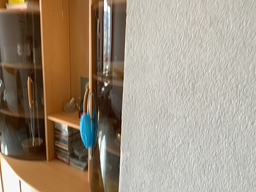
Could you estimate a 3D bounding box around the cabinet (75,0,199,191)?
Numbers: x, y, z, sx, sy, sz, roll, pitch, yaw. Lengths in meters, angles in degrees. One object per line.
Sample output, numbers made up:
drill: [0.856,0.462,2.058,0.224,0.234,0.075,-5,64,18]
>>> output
cabinet: [0.030,0.040,1.030,0.400,0.910,0.390,12,16,31]

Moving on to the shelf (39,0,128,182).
shelf: [-0.250,-0.260,1.210,0.360,1.390,0.300,12,16,31]
